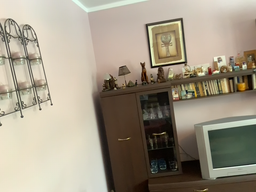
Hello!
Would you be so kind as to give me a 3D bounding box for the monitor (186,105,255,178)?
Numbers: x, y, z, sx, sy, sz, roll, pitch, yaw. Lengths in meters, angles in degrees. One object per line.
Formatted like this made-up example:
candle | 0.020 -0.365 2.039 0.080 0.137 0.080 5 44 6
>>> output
monitor | 1.150 0.490 2.440 0.790 0.580 0.530 -8 7 5
